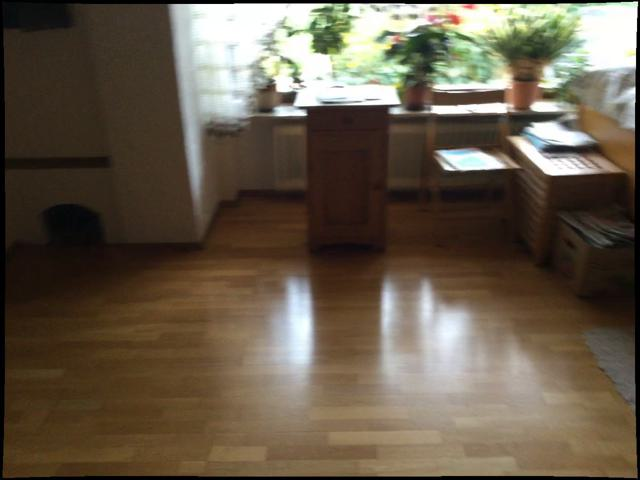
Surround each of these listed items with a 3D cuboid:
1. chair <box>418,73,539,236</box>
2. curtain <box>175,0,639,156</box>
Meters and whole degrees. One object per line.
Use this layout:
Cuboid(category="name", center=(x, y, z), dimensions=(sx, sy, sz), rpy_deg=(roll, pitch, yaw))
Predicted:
Cuboid(category="chair", center=(0.839, -0.490, 3.230), dimensions=(0.470, 0.731, 0.590), rpy_deg=(-1, 29, 2))
Cuboid(category="curtain", center=(1.169, -1.281, 2.920), dimensions=(3.736, 1.581, 0.380), rpy_deg=(-1, 29, 2))
